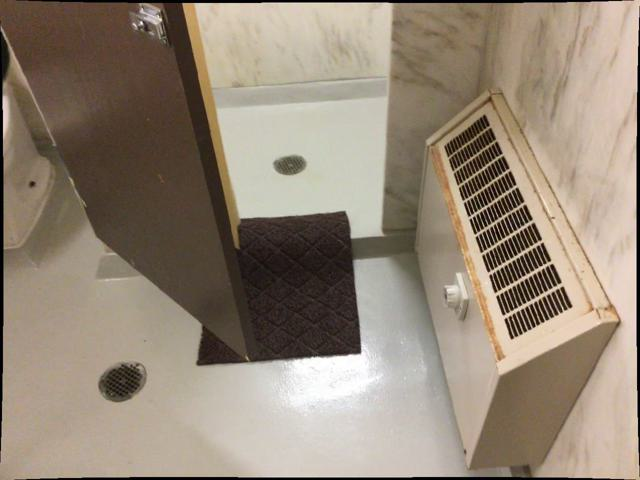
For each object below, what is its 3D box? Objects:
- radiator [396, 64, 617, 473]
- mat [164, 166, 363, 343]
[{"bbox_3d":[0.330,0.040,1.280,0.200,0.540,0.720,-5,45,0],"label":"radiator"},{"bbox_3d":[-0.170,0.020,1.840,0.550,0.120,0.610,-5,45,0],"label":"mat"}]
